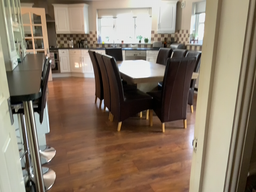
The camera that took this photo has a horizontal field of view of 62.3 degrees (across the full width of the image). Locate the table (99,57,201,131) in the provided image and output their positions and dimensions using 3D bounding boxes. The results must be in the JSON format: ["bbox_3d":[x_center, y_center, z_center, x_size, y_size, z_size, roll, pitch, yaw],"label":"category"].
[{"bbox_3d":[0.210,-0.200,3.760,0.990,0.740,1.960,-6,18,-19],"label":"table"}]

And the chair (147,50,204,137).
[{"bbox_3d":[0.600,-0.070,2.830,0.450,1.000,0.550,-8,18,-23],"label":"chair"}]

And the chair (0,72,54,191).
[{"bbox_3d":[-0.830,0.310,1.710,0.320,0.930,0.330,-8,18,-22],"label":"chair"}]

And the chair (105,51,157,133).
[{"bbox_3d":[0.030,-0.080,2.900,0.550,1.000,0.450,-6,18,-18],"label":"chair"}]

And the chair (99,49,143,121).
[{"bbox_3d":[-0.110,-0.200,3.320,0.550,1.000,0.450,-6,18,-18],"label":"chair"}]

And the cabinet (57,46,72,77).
[{"bbox_3d":[-2.010,-1.120,6.710,0.340,0.880,0.650,-7,18,-20],"label":"cabinet"}]
